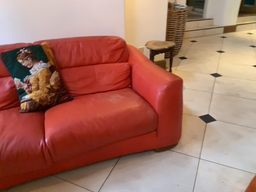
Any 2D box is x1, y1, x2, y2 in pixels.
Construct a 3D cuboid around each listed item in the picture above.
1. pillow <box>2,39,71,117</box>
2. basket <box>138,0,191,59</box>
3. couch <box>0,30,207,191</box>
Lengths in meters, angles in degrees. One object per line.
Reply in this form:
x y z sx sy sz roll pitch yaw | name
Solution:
-0.740 -0.160 1.730 0.370 0.150 0.560 -16 76 -25 | pillow
0.740 -1.360 4.150 0.760 0.840 1.150 9 31 17 | basket
-0.680 0.040 1.830 2.190 0.760 1.210 -11 32 -18 | couch
